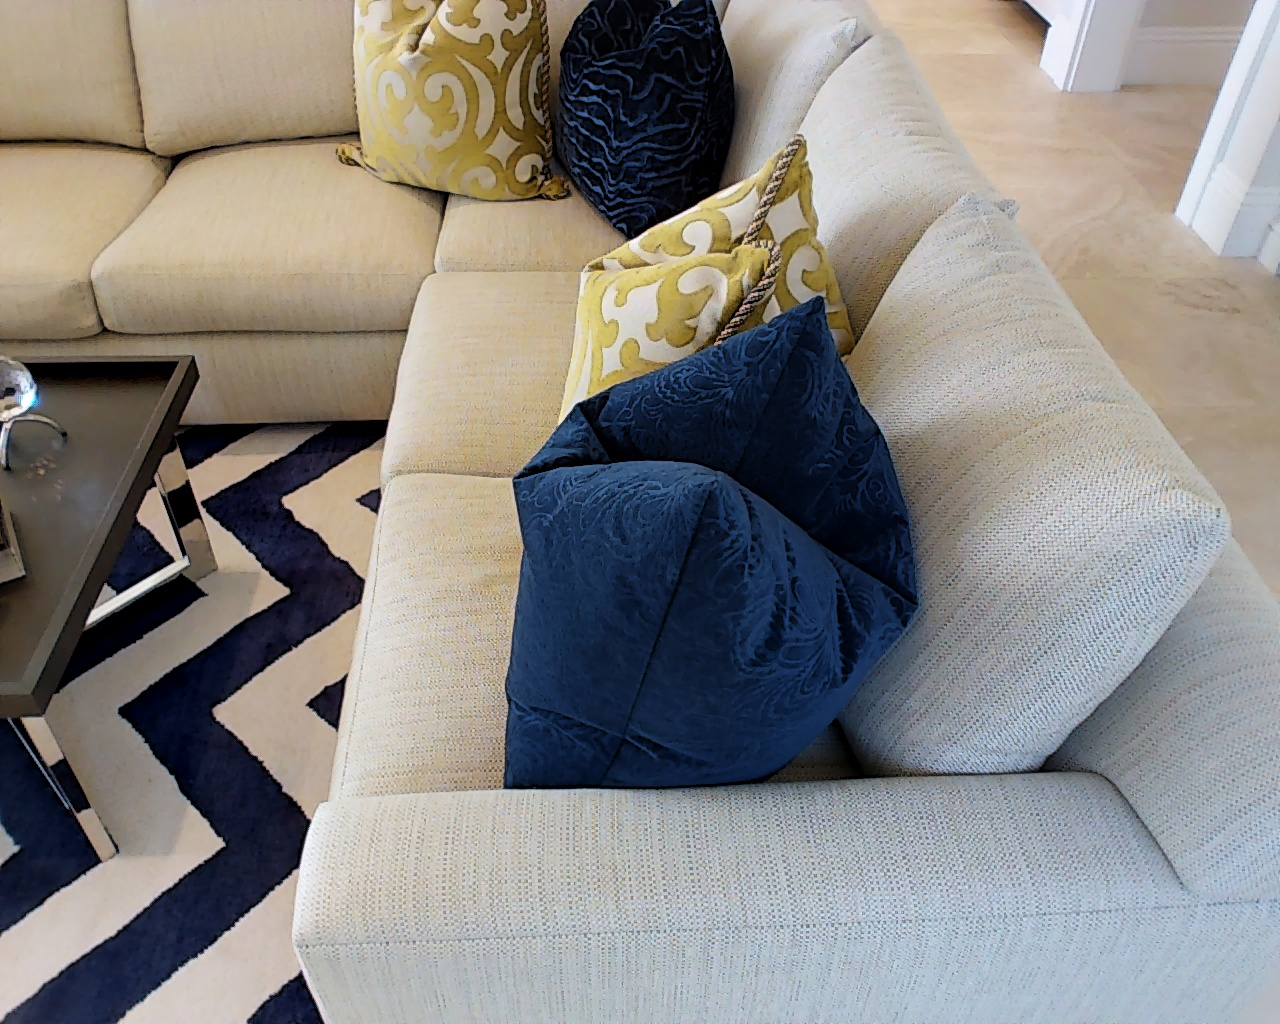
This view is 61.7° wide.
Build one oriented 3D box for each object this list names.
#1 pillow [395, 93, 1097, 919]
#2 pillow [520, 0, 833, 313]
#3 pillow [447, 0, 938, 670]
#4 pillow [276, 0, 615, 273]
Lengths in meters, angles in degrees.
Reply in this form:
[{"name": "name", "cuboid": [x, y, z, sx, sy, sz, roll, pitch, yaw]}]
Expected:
[{"name": "pillow", "cuboid": [0.070, 0.050, 1.180, 0.450, 0.660, 0.530, 25, 60, 2]}, {"name": "pillow", "cuboid": [0.040, -0.840, 2.190, 0.410, 0.570, 0.530, -17, 57, -14]}, {"name": "pillow", "cuboid": [0.090, -0.250, 1.530, 0.390, 0.580, 0.670, 18, 58, 11]}, {"name": "pillow", "cuboid": [-0.390, -0.940, 2.280, 0.560, 0.600, 0.360, 31, 71, 9]}]
